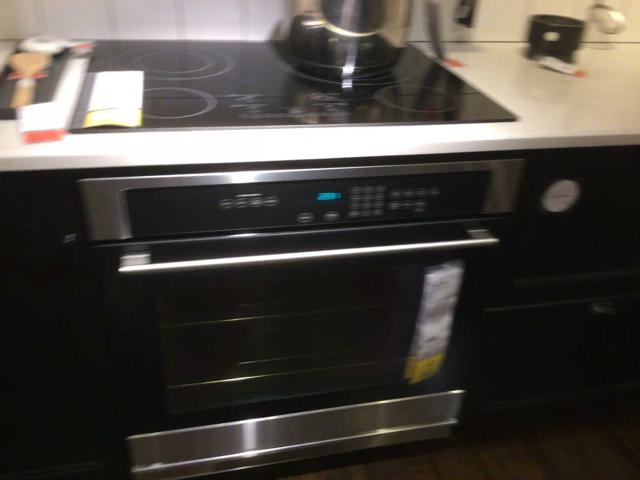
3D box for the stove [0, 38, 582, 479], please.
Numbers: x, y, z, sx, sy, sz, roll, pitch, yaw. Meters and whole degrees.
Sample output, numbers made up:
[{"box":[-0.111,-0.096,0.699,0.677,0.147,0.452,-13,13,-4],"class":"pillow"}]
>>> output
[{"box":[-0.110,0.080,1.380,0.880,0.930,0.740,-5,31,-13],"class":"stove"}]
